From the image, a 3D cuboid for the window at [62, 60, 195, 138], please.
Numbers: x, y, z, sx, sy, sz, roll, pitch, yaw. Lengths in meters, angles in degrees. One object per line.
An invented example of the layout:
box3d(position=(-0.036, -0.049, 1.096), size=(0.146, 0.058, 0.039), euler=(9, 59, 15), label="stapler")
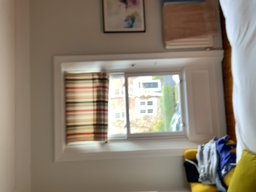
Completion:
box3d(position=(0.010, 0.030, 3.240), size=(0.240, 1.930, 1.090), euler=(133, 135, -85), label="window")
